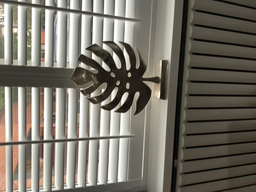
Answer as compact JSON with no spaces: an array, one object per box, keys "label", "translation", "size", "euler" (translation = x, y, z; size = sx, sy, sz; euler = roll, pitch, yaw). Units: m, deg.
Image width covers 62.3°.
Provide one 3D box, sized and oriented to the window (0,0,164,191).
[{"label":"window","translation":[-0.400,-0.080,0.920],"size":[0.080,1.200,1.140],"euler":[-173,84,-69]}]
